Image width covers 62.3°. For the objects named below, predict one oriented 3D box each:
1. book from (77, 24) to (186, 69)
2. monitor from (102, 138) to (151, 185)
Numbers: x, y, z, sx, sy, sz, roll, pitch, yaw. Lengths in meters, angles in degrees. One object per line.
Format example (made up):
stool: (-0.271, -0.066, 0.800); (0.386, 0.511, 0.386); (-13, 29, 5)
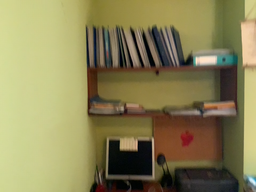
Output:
book: (0.030, -0.390, 1.740); (0.820, 0.310, 0.260); (-1, 3, 1)
monitor: (-0.010, 0.570, 1.860); (0.410, 0.380, 0.100); (-1, 3, 1)
